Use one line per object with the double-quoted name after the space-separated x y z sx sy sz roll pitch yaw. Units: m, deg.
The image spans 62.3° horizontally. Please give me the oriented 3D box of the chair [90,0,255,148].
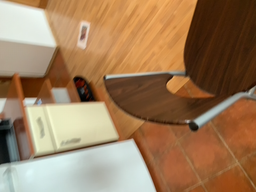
0.370 -0.180 0.890 0.410 0.880 0.490 31 113 43 "chair"
